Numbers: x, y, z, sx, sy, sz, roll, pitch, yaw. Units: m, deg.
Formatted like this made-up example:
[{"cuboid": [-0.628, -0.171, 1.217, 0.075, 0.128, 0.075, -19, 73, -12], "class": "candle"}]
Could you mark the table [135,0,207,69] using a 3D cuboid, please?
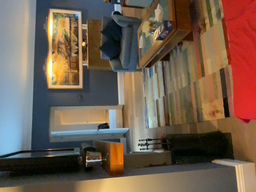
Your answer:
[{"cuboid": [0.490, -0.920, 2.940, 1.290, 0.400, 0.680, 140, 128, -72], "class": "table"}]
